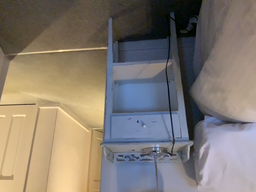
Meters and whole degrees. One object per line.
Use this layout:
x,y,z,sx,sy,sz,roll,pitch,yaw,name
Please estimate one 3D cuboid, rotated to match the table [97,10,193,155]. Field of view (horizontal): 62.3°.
0.080,-0.070,1.110,0.390,0.710,0.250,-2,158,6,table
